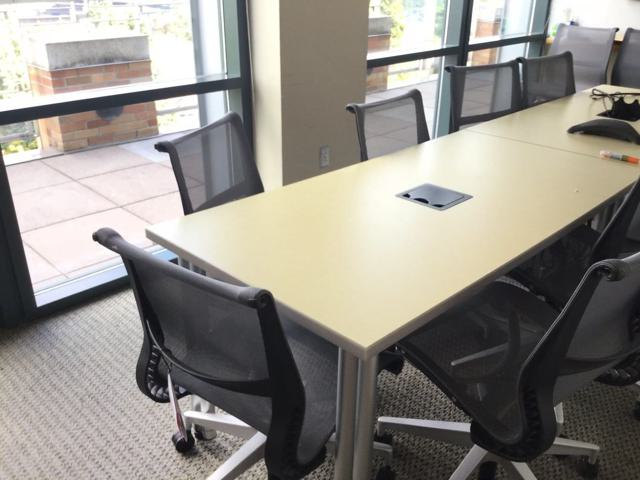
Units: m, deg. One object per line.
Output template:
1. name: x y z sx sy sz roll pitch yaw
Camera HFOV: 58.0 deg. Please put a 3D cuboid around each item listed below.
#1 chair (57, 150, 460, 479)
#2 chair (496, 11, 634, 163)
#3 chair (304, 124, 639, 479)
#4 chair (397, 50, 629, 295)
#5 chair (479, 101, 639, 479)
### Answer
1. chair: -0.140 0.320 1.450 0.610 0.860 0.660 -22 32 -36
2. chair: 1.780 -1.150 4.240 0.580 0.930 0.690 22 34 40
3. chair: 0.460 0.280 1.450 0.710 0.910 0.670 -19 30 -32
4. chair: 0.910 -0.390 2.850 0.780 0.920 0.680 -21 32 -36
5. chair: 0.880 0.120 1.750 0.590 0.920 0.430 -21 32 -36
